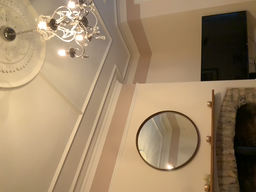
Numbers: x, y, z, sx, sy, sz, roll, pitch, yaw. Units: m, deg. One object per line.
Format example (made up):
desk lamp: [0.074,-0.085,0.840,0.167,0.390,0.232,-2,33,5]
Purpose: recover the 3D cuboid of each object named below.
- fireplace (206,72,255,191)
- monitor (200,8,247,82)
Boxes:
fireplace: [1.670,0.580,2.370,0.700,1.430,1.620,59,-142,-50]
monitor: [1.420,-0.760,3.190,0.060,0.620,1.110,27,-115,-64]
